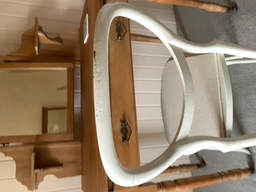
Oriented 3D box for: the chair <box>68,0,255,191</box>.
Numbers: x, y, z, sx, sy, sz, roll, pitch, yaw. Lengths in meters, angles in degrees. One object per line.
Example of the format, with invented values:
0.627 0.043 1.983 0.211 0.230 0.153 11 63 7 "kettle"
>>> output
0.240 0.010 0.740 0.470 0.820 0.420 162 107 -68 "chair"
